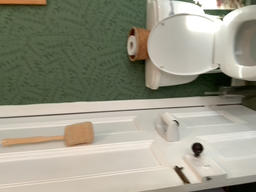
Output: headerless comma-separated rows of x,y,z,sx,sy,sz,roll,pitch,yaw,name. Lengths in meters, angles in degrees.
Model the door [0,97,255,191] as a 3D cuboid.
-0.090,0.230,1.080,0.890,1.970,0.110,-127,36,-70,door
